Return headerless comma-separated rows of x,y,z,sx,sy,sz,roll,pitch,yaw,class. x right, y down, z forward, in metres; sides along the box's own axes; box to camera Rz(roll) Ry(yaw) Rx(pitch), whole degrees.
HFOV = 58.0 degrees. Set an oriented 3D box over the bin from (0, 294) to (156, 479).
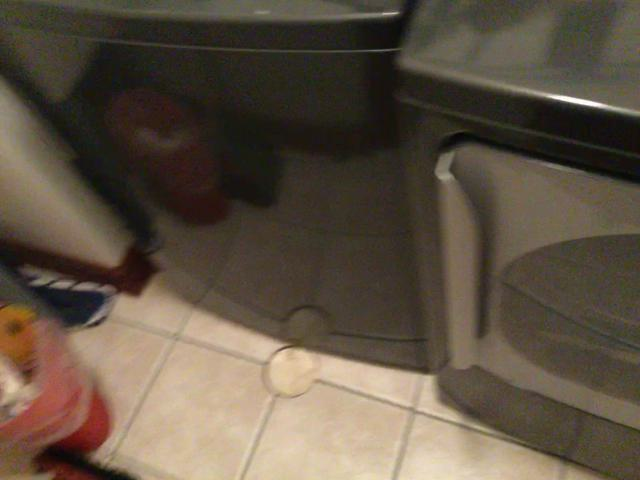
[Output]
-0.620,0.320,1.210,0.350,0.320,0.280,12,60,19,bin
